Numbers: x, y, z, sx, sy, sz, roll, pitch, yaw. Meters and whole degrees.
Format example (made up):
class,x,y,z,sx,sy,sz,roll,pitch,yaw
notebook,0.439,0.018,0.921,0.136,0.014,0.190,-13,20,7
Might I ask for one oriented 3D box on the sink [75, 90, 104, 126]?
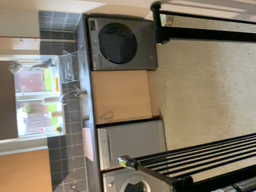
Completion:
class,x,y,z,sx,sy,sz,roll,pitch,yaw
sink,-0.500,0.160,2.670,0.520,0.210,0.400,166,99,-65
